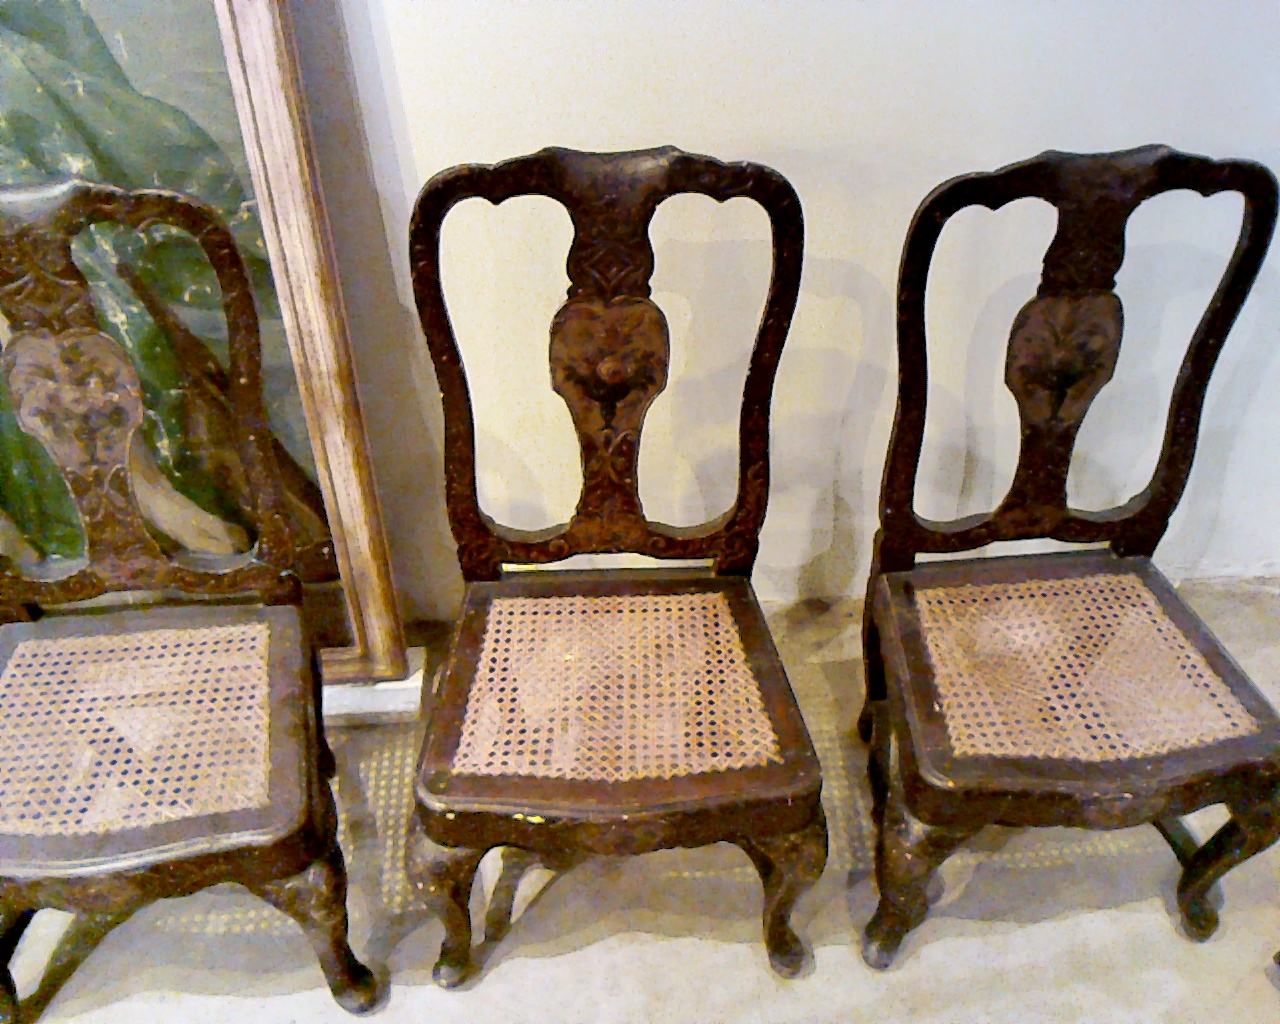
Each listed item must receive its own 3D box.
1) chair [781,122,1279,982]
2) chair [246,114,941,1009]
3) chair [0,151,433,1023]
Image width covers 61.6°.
[{"bbox_3d":[0.560,0.100,1.400,0.560,1.010,0.530,-3,42,-4],"label":"chair"},{"bbox_3d":[-0.060,0.110,1.360,0.530,1.010,0.550,-3,42,-4],"label":"chair"},{"bbox_3d":[-0.630,0.160,1.320,0.600,1.000,0.540,-3,42,-4],"label":"chair"}]
